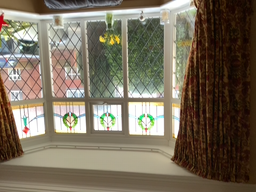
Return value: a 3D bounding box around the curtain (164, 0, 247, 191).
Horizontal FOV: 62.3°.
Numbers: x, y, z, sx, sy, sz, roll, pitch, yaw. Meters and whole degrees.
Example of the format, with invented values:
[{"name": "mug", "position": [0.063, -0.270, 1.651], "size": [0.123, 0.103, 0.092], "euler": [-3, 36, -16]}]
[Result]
[{"name": "curtain", "position": [0.690, -0.420, 2.040], "size": [0.250, 2.800, 0.740], "euler": [-6, -171, -31]}]
